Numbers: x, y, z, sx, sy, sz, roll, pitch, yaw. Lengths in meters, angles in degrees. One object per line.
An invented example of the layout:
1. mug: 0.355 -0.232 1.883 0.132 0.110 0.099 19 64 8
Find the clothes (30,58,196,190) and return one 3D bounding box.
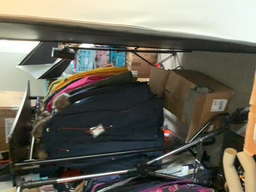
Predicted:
1. clothes: -0.280 0.070 1.970 1.290 1.080 0.710 -151 63 -65
